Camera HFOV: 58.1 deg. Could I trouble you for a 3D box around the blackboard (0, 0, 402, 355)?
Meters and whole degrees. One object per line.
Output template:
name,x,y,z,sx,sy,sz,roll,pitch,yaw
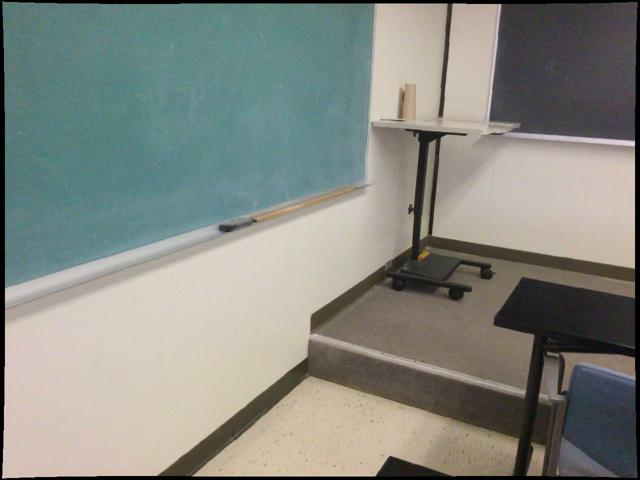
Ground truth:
blackboard,-0.209,-0.632,2.050,0.130,1.363,2.369,9,15,27
